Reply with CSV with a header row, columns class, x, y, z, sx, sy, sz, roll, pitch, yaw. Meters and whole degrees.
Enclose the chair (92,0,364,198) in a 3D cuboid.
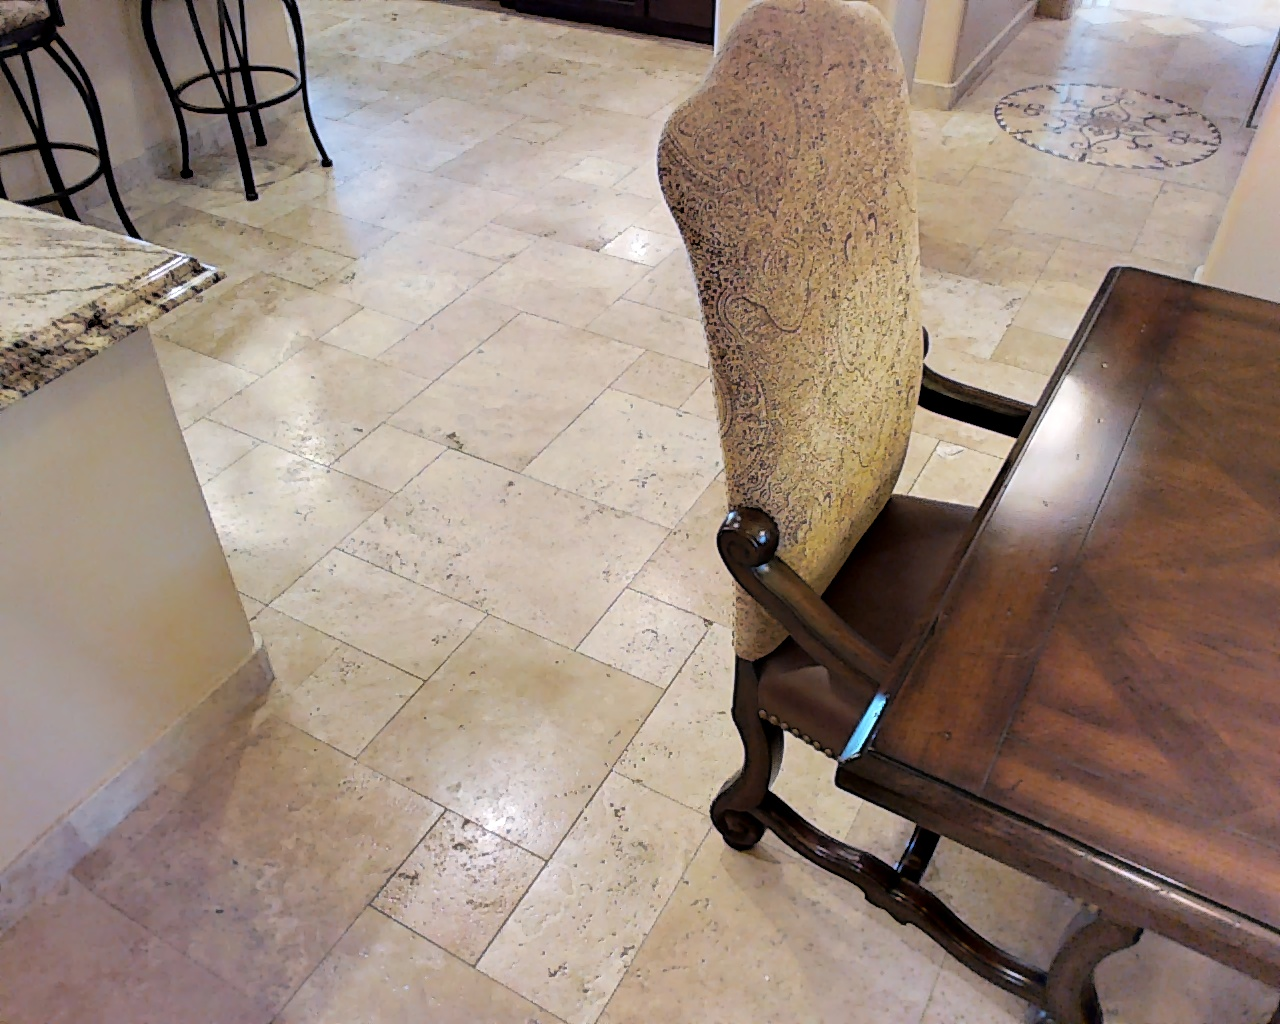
class,x,y,z,sx,sy,sz,roll,pitch,yaw
chair,-1.341,-1.679,3.360,0.540,1.140,0.510,20,45,21
